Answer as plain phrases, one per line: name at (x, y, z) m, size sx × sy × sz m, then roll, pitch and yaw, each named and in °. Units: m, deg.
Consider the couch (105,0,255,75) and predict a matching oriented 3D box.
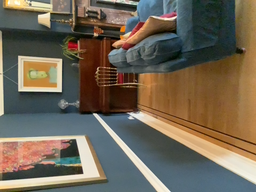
couch at (0.340, -0.780, 2.270) m, size 1.600 × 0.830 × 1.080 m, roll -162°, pitch 73°, yaw -71°
